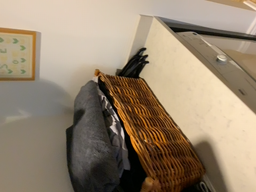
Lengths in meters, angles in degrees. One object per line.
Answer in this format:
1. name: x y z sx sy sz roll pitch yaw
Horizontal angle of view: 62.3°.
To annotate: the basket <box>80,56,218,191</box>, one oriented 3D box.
1. basket: 0.000 0.180 0.960 0.710 0.250 0.370 -117 35 -40
